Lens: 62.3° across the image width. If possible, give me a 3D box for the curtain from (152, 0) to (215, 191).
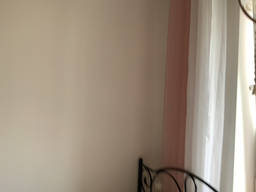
[{"bbox_3d":[0.420,-0.140,1.630,0.220,2.190,0.390,4,-1,-18],"label":"curtain"}]
